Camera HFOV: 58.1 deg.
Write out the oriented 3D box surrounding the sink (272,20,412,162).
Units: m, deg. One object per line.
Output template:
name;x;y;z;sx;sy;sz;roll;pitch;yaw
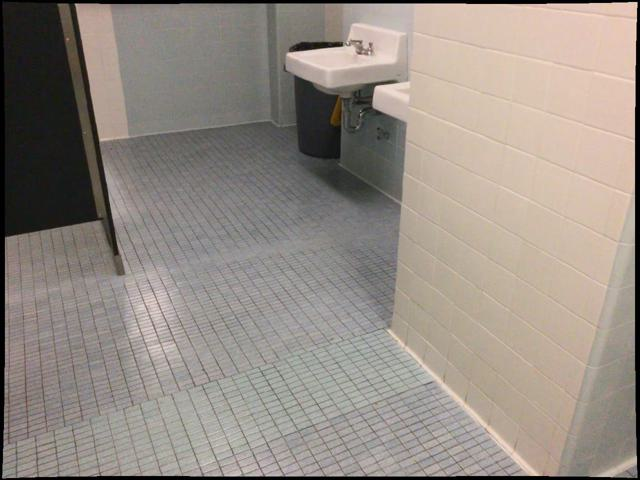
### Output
sink;0.100;-0.832;3.120;0.479;0.581;0.620;-14;30;-24
